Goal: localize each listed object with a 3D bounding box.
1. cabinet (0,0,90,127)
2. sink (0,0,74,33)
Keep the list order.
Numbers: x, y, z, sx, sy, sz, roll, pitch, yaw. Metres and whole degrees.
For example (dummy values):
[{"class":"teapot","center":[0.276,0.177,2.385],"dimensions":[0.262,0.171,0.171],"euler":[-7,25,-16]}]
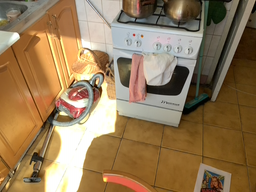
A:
[{"class":"cabinet","center":[-0.770,-0.360,1.740],"dimensions":[0.540,0.790,0.810],"euler":[10,46,10]},{"class":"sink","center":[-0.730,-0.700,1.650],"dimensions":[0.440,0.170,0.430],"euler":[10,46,10]}]
